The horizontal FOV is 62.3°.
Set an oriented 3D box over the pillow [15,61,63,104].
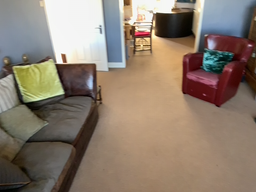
[{"bbox_3d":[-1.040,-0.150,2.460,0.450,0.430,0.200,-2,34,-34],"label":"pillow"}]
